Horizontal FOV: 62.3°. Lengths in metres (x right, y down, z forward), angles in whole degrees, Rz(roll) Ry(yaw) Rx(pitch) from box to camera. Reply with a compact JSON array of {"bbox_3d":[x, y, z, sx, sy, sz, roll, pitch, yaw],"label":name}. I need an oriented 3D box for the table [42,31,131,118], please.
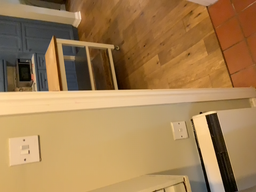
[{"bbox_3d":[-0.590,-0.250,2.860,0.660,0.880,0.870,-36,63,52],"label":"table"}]
